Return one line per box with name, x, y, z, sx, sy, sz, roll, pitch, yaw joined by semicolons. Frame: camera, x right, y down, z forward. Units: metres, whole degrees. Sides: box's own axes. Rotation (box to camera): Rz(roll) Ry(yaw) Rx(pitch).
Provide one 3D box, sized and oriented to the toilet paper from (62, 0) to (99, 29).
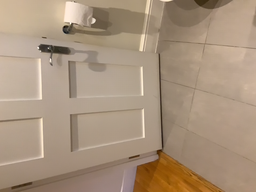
toilet paper;-0.280;-0.480;1.240;0.120;0.170;0.140;20;107;50
